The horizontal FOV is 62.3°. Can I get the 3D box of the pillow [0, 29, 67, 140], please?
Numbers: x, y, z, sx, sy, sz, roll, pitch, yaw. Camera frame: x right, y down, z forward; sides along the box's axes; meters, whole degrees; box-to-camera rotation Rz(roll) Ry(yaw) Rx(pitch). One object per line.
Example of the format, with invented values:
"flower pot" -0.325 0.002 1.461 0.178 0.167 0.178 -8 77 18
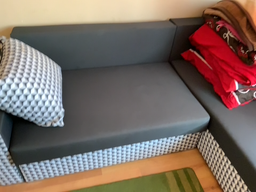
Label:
"pillow" -0.590 -0.120 1.380 0.330 0.340 0.690 -6 43 -12
